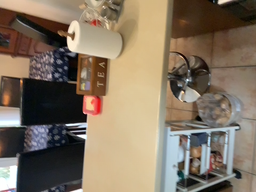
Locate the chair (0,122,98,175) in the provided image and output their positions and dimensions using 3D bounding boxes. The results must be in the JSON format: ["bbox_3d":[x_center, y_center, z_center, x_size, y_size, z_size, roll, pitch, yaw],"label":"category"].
[{"bbox_3d":[-1.110,0.650,2.950,0.670,1.180,0.430,6,93,50],"label":"chair"}]

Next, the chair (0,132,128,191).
[{"bbox_3d":[-0.700,0.720,2.420,0.680,1.210,0.420,5,92,51],"label":"chair"}]
